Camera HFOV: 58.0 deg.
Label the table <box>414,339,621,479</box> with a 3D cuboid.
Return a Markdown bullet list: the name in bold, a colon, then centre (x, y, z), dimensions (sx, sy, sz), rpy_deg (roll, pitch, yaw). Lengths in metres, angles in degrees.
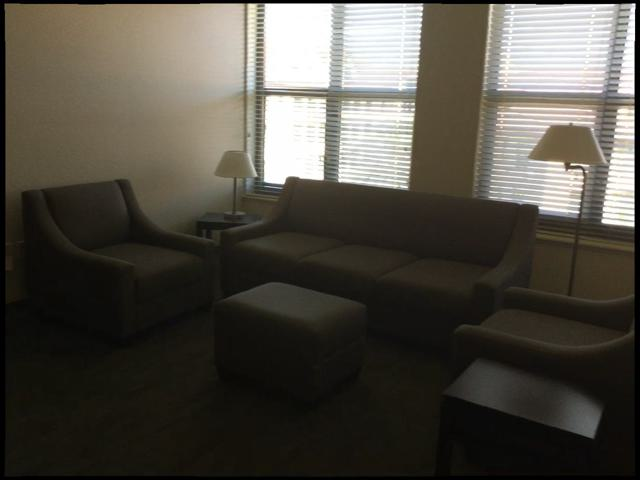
- **table**: centre (0.748, 0.762, 2.200), dimensions (0.579, 0.481, 0.520), rpy_deg (11, 18, 34)
